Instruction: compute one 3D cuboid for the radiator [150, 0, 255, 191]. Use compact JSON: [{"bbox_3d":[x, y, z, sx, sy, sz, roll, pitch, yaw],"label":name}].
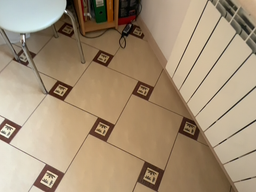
[{"bbox_3d":[0.460,0.130,0.820,0.210,0.770,1.060,-17,64,-14],"label":"radiator"}]
